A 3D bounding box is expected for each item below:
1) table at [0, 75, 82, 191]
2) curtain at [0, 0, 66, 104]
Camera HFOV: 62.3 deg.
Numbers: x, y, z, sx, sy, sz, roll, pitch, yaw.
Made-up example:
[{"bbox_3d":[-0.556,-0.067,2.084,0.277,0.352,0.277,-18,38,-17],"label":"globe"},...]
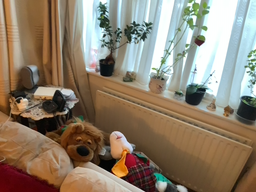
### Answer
[{"bbox_3d":[-0.760,0.330,1.890,0.490,0.820,0.490,19,32,20],"label":"table"},{"bbox_3d":[-0.720,-0.790,1.500,0.410,1.710,0.260,20,32,22],"label":"curtain"}]
